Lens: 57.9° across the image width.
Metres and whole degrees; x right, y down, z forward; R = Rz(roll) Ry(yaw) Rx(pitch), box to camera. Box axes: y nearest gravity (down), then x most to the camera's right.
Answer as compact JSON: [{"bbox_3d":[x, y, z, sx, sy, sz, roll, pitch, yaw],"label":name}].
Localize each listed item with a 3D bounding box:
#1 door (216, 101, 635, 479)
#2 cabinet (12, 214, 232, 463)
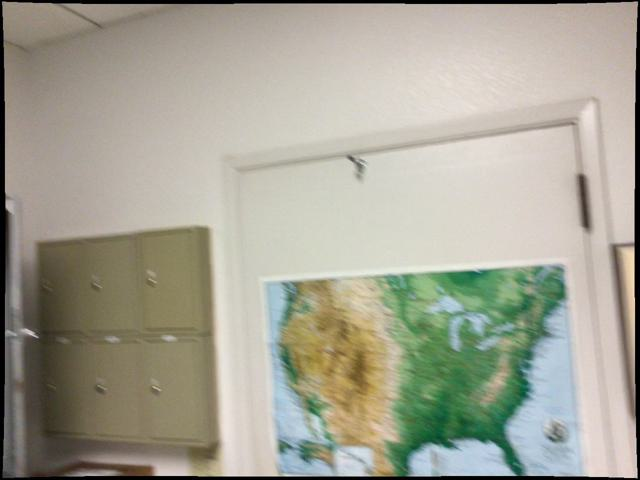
[{"bbox_3d":[0.230,0.751,1.420,0.979,2.032,0.100,-4,-2,23],"label":"door"},{"bbox_3d":[-0.629,0.290,1.780,0.729,0.681,0.110,-4,-2,23],"label":"cabinet"}]
